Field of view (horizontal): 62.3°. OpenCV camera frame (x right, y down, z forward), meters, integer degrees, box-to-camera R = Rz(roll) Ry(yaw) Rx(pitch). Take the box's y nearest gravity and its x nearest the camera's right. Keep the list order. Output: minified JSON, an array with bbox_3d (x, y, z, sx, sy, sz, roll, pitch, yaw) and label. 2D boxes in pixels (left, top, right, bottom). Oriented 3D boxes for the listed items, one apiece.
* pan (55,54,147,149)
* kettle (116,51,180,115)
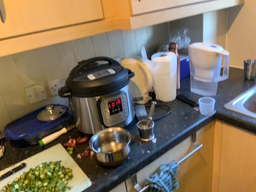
[{"bbox_3d":[-0.110,0.000,0.920,0.260,0.280,0.250,-24,29,-32],"label":"pan"},{"bbox_3d":[0.110,-0.080,1.090,0.260,0.230,0.170,-24,29,-31],"label":"kettle"}]
